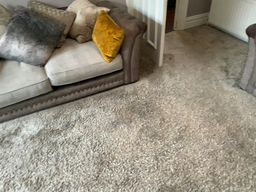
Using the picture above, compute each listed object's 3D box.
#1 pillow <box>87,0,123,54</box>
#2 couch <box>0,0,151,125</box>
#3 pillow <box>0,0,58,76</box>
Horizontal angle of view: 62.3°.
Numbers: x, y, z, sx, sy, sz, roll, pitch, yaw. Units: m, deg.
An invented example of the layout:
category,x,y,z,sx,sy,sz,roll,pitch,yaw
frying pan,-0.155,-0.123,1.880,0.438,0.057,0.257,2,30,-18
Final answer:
category,x,y,z,sx,sy,sz,roll,pitch,yaw
pillow,-0.270,-0.710,2.280,0.180,0.370,0.590,-17,5,-17
couch,-0.990,-0.460,2.340,2.200,0.690,1.090,-19,42,-19
pillow,-1.120,-0.680,2.190,0.740,0.590,0.270,-36,-25,27
